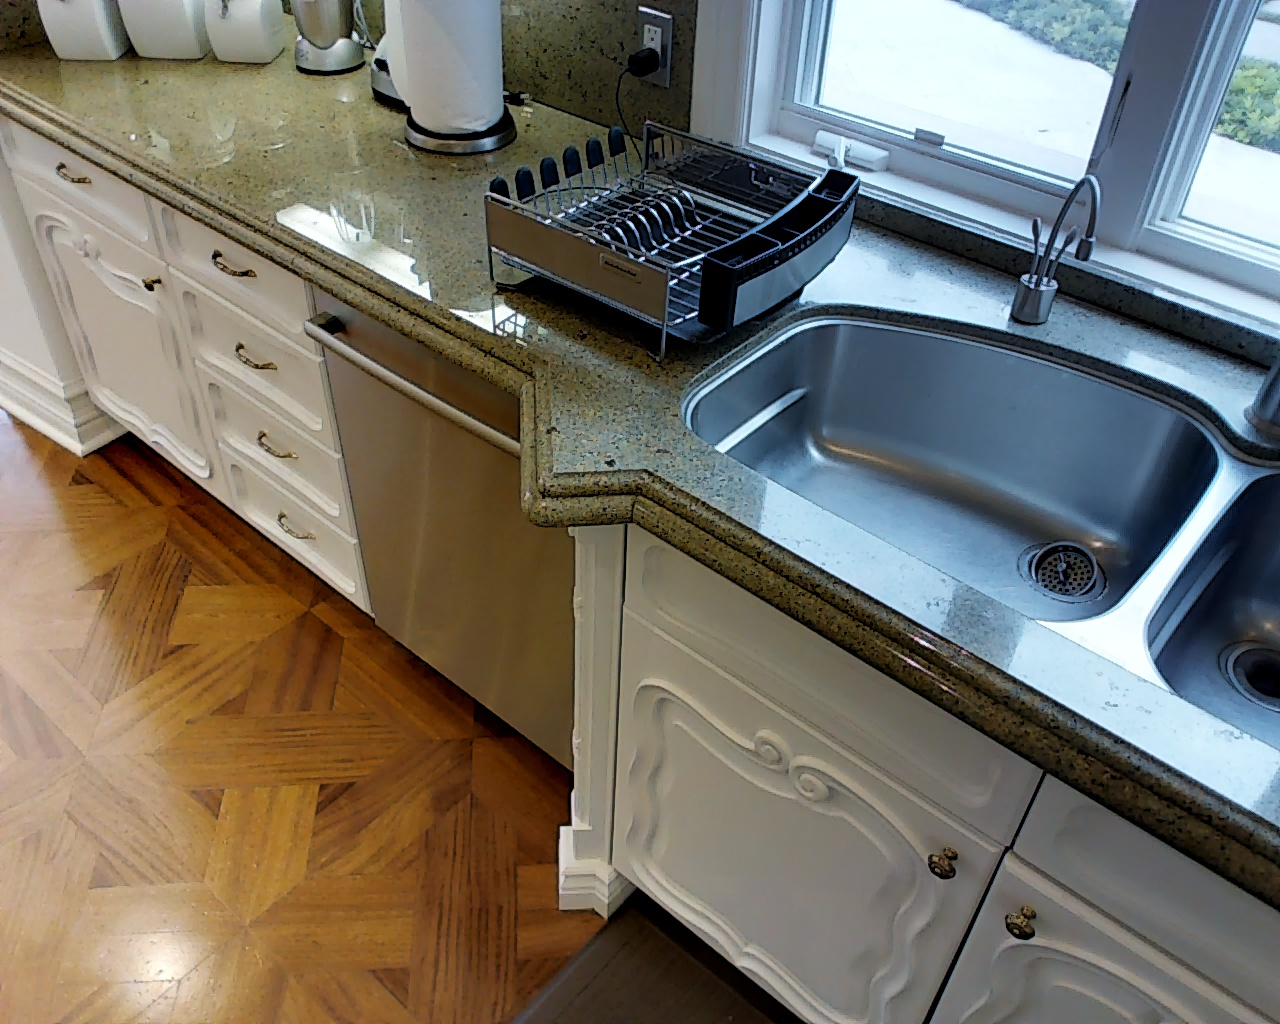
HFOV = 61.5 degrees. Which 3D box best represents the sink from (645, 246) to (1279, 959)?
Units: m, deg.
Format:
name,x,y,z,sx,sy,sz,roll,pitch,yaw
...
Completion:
name,x,y,z,sx,sy,sz,roll,pitch,yaw
sink,0.590,0.090,1.260,1.130,0.300,0.480,31,49,30
